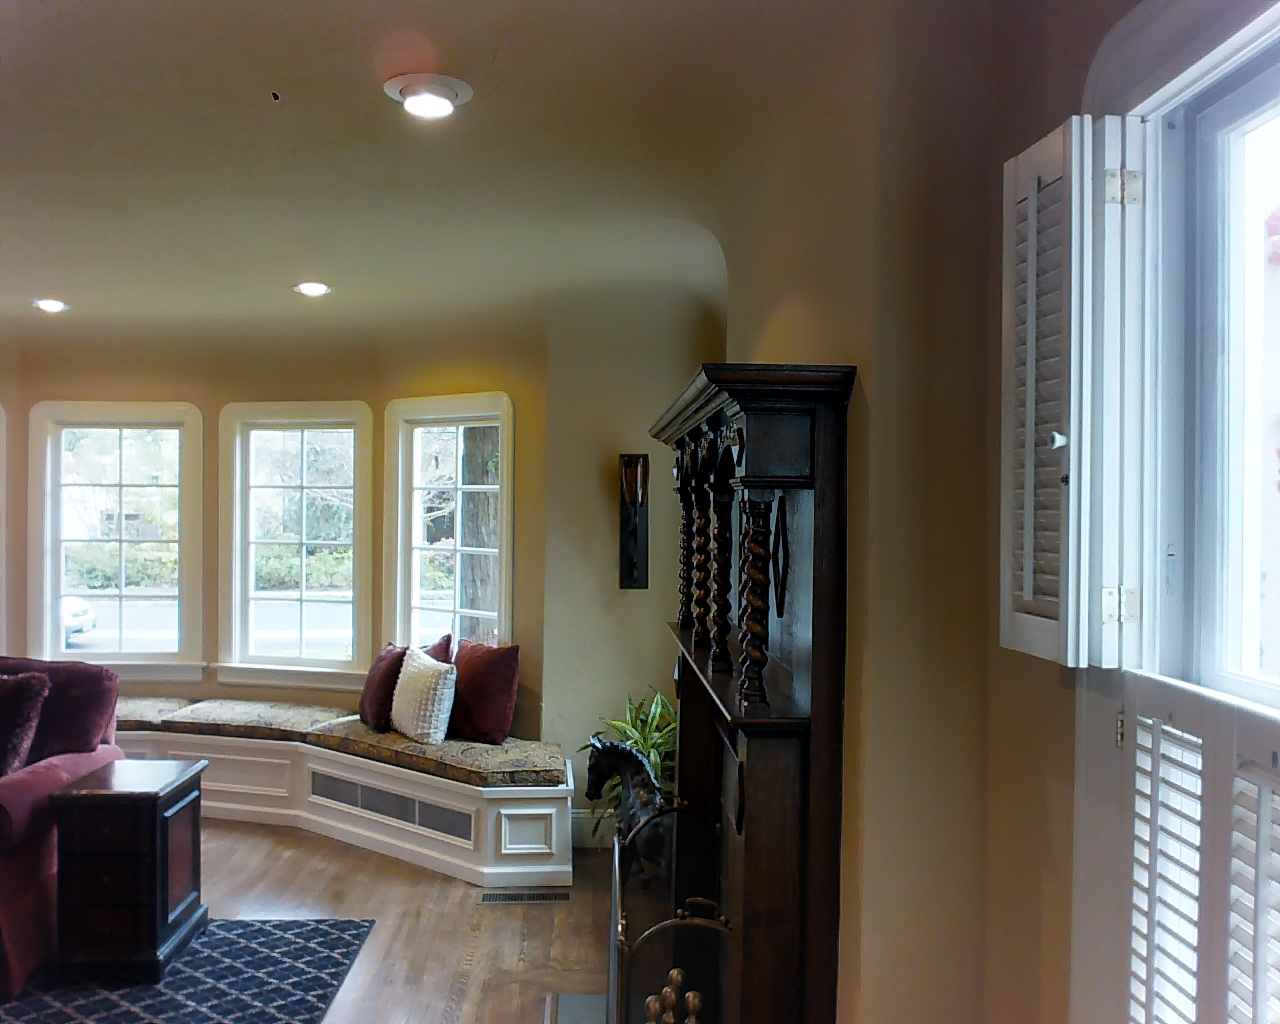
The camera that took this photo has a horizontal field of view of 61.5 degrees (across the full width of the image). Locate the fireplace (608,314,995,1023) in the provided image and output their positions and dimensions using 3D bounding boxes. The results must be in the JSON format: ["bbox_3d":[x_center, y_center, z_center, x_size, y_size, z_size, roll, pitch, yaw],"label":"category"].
[{"bbox_3d":[0.240,0.610,2.530,0.580,1.860,1.570,1,0,-3],"label":"fireplace"}]
